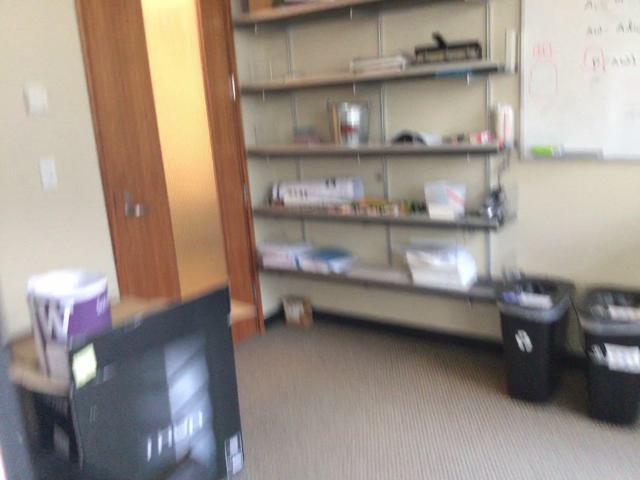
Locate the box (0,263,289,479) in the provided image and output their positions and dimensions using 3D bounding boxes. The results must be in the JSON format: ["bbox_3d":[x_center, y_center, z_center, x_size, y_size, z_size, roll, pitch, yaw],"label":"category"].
[{"bbox_3d":[-0.810,0.600,2.220,0.900,0.780,1.000,3,11,35],"label":"box"}]

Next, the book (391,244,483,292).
[{"bbox_3d":[0.620,0.140,3.060,0.400,0.170,0.270,3,11,35],"label":"book"}]
